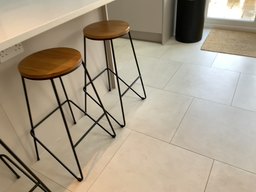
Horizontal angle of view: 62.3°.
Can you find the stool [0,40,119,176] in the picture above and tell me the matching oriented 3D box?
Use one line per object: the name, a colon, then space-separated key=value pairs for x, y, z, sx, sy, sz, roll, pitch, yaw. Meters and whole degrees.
stool: x=-0.370 y=0.070 z=1.370 sx=0.400 sy=0.680 sz=0.430 roll=15 pitch=41 yaw=24
